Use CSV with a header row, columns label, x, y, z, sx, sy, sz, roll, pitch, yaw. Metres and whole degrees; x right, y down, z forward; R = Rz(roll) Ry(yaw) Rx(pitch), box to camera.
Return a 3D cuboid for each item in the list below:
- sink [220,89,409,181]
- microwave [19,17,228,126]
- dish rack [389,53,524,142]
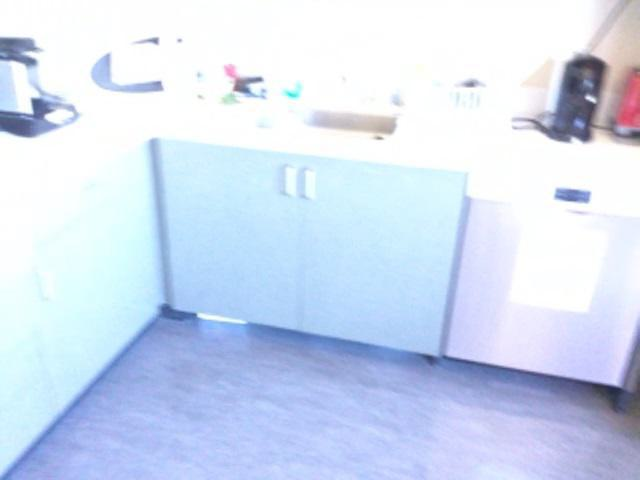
label,x,y,z,sx,sy,sz,roll,pitch,yaw
sink,0.010,-0.420,2.190,0.590,0.180,0.560,6,25,12
microwave,-0.740,-0.670,2.210,0.620,0.300,0.430,-16,29,-31
dish rack,0.470,-0.510,2.020,0.400,0.220,0.370,6,25,12
